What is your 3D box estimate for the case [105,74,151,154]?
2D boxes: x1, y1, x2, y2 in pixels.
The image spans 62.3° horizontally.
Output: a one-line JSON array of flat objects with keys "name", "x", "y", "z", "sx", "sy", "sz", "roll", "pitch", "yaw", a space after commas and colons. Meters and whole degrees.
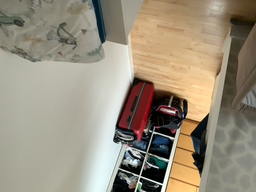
[{"name": "case", "x": 0.040, "y": 0.290, "z": 3.010, "sx": 0.330, "sy": 0.840, "sz": 0.820, "roll": 15, "pitch": 156, "yaw": 11}]

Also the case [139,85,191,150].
[{"name": "case", "x": 0.510, "y": 0.330, "z": 3.050, "sx": 0.520, "sy": 0.610, "sz": 0.700, "roll": 15, "pitch": 156, "yaw": 11}]
